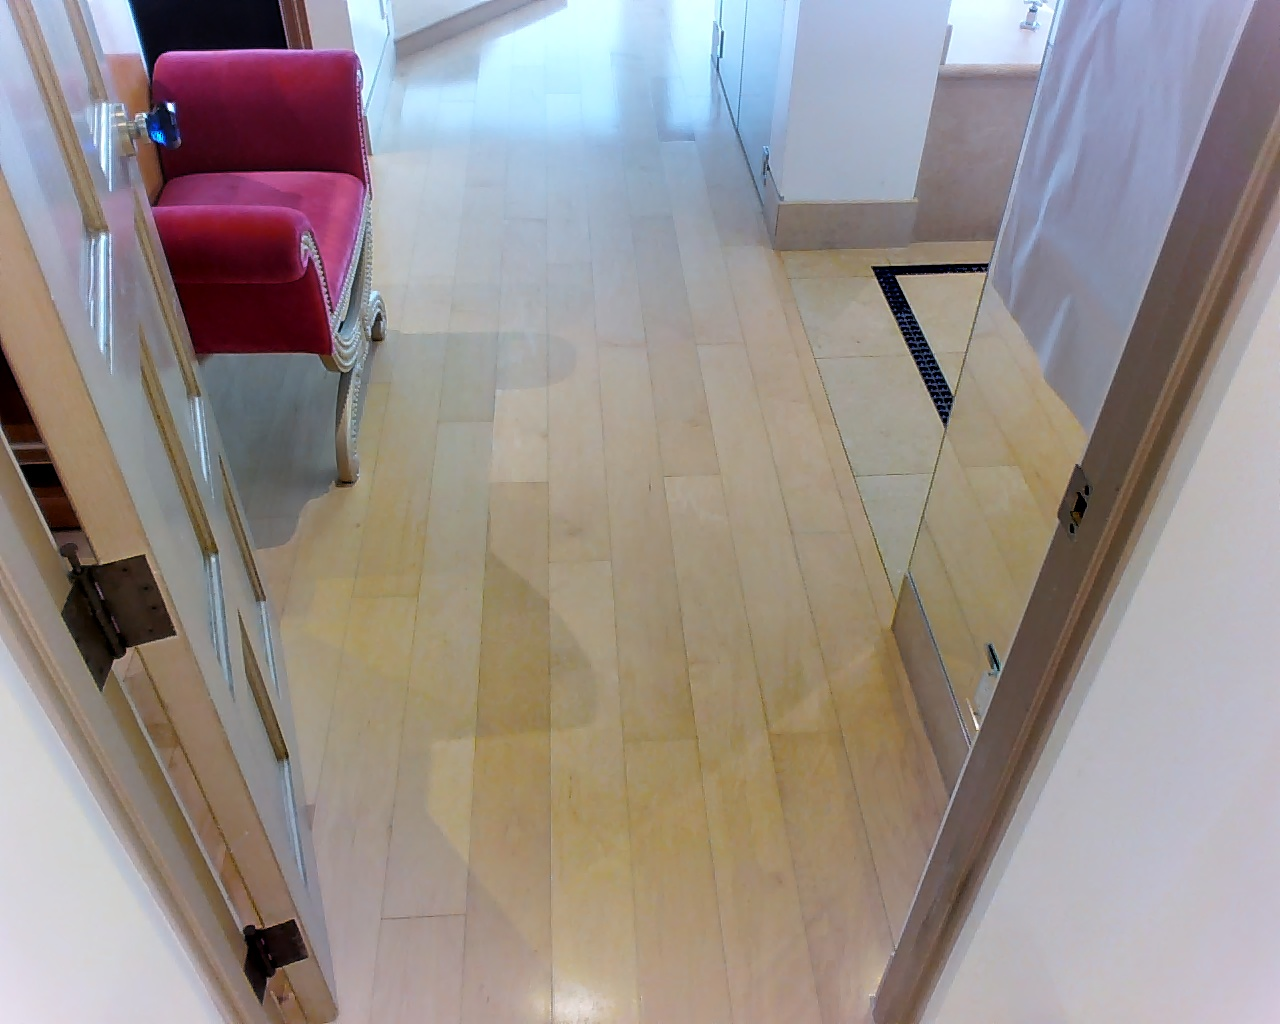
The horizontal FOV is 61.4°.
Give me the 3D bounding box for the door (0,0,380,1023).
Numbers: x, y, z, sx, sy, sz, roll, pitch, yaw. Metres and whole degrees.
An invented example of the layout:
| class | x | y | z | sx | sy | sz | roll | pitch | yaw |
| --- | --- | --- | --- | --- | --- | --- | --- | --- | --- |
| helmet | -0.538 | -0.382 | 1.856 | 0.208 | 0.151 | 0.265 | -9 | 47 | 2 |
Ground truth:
| class | x | y | z | sx | sy | sz | roll | pitch | yaw |
| --- | --- | --- | --- | --- | --- | --- | --- | --- | --- |
| door | -0.550 | -0.460 | 1.020 | 0.140 | 2.470 | 0.920 | -3 | 43 | -4 |
